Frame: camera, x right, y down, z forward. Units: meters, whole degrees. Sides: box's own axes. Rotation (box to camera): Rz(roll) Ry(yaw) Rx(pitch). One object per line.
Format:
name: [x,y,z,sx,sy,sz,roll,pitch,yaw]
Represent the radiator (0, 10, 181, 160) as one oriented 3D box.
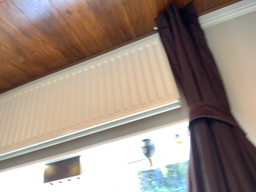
radiator: [-0.500,-0.020,1.420,1.540,0.670,0.110,-18,147,14]
